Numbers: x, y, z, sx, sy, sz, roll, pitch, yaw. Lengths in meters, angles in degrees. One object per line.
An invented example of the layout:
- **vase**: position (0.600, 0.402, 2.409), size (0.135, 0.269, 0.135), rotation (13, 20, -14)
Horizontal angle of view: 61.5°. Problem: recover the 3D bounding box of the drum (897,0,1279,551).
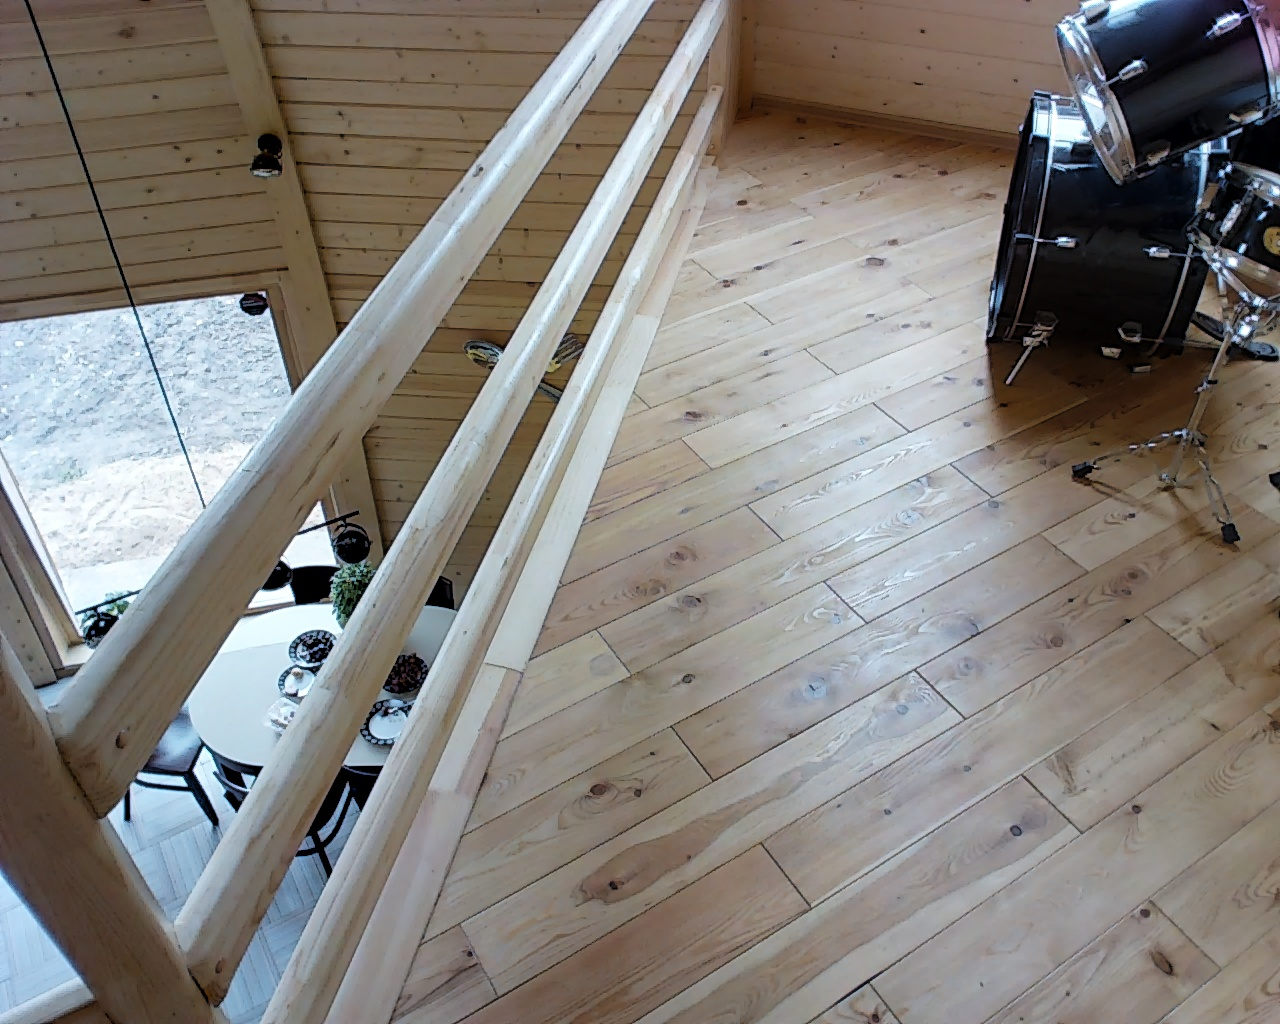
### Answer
- **drum**: position (1.150, -0.720, 2.390), size (0.870, 1.030, 1.090), rotation (11, 43, 11)
